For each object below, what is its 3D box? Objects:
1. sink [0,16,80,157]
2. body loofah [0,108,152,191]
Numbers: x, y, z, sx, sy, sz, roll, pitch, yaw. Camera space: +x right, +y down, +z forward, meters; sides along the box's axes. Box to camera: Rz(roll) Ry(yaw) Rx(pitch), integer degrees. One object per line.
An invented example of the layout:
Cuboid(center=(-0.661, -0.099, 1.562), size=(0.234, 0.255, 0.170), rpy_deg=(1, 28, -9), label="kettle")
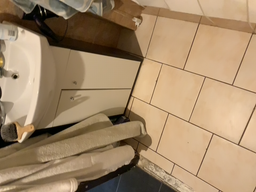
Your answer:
Cuboid(center=(-0.490, -0.060, 1.040), size=(0.420, 0.140, 0.530), rpy_deg=(29, 108, 32), label="sink")
Cuboid(center=(-0.390, 0.310, 0.980), size=(0.340, 1.260, 0.280), rpy_deg=(34, 111, 30), label="body loofah")
